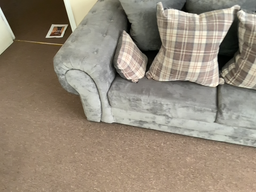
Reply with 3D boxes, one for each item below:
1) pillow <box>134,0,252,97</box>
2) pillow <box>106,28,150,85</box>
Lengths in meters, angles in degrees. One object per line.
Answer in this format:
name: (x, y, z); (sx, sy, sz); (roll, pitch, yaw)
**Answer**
pillow: (0.340, -0.280, 1.220); (0.430, 0.450, 0.180); (26, 45, -11)
pillow: (0.000, -0.250, 1.360); (0.110, 0.280, 0.220); (30, 44, -14)
